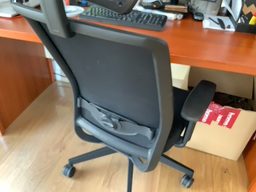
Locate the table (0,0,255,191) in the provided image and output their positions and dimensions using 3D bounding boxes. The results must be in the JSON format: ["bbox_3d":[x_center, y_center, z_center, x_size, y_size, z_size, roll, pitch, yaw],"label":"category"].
[{"bbox_3d":[0.020,-0.120,1.360,1.620,0.750,0.760,11,37,9],"label":"table"}]
